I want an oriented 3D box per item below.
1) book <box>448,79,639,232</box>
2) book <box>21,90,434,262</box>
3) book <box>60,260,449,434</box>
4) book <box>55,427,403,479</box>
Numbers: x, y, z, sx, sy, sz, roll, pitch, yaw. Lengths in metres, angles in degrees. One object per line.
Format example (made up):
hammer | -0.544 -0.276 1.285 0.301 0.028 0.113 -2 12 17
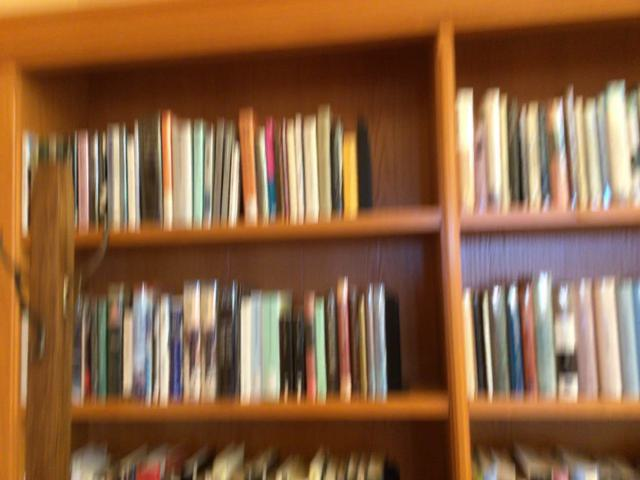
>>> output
book | 0.720 -0.190 1.180 0.870 0.270 0.090 -5 -5 7
book | -0.220 -0.130 1.300 0.910 0.290 0.090 -5 -5 7
book | -0.150 0.240 1.320 0.830 0.320 0.180 -5 -5 7
book | -0.190 0.620 1.310 0.760 0.310 0.180 -5 -5 7
